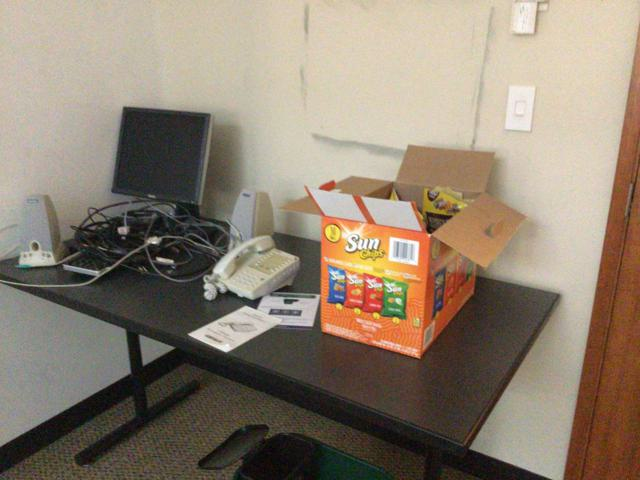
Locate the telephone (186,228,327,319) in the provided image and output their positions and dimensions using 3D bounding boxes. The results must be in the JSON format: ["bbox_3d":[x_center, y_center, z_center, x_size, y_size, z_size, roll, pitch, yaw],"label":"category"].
[{"bbox_3d":[-0.170,0.080,1.610,0.250,0.120,0.300,13,21,31],"label":"telephone"}]

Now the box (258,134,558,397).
[{"bbox_3d":[0.240,-0.010,1.440,0.480,0.400,0.650,13,21,31],"label":"box"}]
